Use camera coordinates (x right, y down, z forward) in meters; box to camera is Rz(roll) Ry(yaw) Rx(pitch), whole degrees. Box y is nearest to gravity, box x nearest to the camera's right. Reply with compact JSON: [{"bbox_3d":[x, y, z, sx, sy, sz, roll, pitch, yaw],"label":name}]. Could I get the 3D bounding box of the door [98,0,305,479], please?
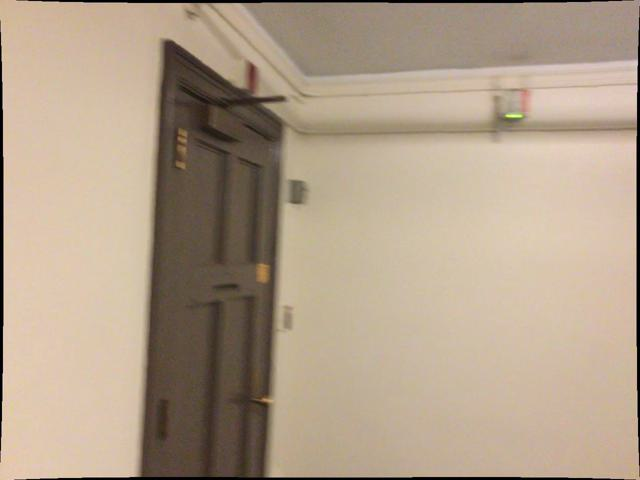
[{"bbox_3d":[-0.320,0.420,2.110,0.120,2.252,1.490,2,0,12],"label":"door"}]
